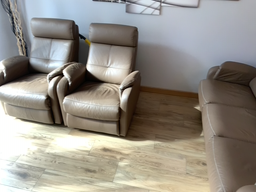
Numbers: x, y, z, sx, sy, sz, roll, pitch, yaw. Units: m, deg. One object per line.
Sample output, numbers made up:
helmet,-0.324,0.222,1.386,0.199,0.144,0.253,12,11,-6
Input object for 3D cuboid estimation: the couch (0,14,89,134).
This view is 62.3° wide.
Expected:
couch,-0.990,-0.300,2.400,0.750,0.990,0.900,8,32,9

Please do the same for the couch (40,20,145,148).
couch,-0.280,-0.180,2.260,0.710,0.980,0.890,8,32,9

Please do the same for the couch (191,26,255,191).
couch,1.160,0.140,1.840,0.930,0.970,1.850,8,32,9
